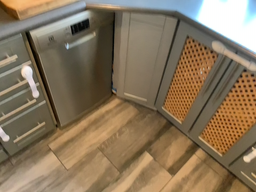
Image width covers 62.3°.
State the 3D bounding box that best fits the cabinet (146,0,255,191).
[{"bbox_3d":[0.910,0.190,1.110,0.630,0.850,1.480,-34,62,-29],"label":"cabinet"}]
